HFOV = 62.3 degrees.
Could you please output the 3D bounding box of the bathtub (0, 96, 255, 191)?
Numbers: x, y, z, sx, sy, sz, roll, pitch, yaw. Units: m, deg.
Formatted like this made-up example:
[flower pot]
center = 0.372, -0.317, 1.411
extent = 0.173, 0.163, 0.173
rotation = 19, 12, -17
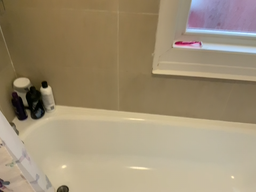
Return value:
[bathtub]
center = 0.160, 0.520, 1.200
extent = 1.740, 0.560, 0.690
rotation = 6, 38, 3
